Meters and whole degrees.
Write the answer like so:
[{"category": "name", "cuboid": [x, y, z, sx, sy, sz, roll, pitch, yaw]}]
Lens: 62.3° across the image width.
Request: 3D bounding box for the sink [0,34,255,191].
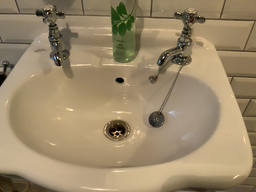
[{"category": "sink", "cuboid": [-0.040, 0.050, 0.450, 0.460, 0.180, 0.360, 4, 44, 4]}]
